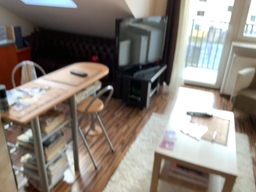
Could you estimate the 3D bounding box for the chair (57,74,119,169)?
[{"bbox_3d":[-0.360,0.230,2.000,0.420,0.740,0.330,14,27,20],"label":"chair"}]
